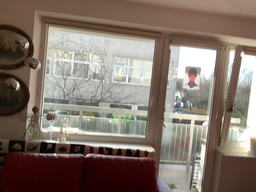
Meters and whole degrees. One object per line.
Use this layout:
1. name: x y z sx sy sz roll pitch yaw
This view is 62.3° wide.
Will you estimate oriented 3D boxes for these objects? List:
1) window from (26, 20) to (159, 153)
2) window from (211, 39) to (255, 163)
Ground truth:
1. window: -0.410 -0.080 2.630 1.450 1.460 0.200 5 2 -8
2. window: 1.680 0.090 2.850 0.900 1.580 0.170 5 2 -4
